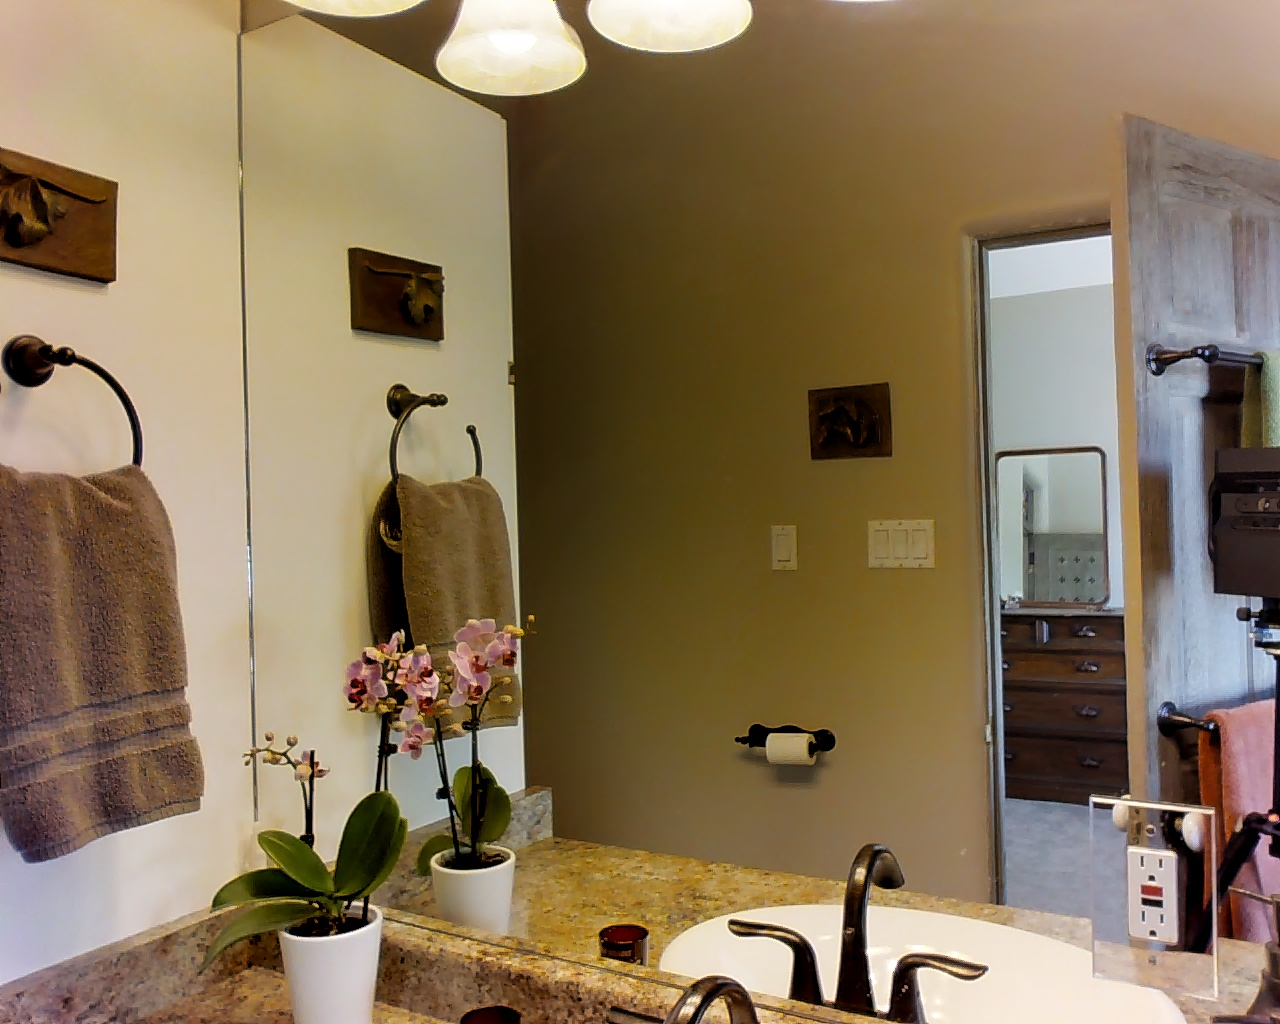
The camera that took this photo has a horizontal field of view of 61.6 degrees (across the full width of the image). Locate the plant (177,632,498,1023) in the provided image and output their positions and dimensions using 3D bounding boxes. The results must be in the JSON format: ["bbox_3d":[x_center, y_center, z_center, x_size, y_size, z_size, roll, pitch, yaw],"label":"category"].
[{"bbox_3d":[-0.310,0.340,1.120,0.210,0.400,0.230,-2,-1,33],"label":"plant"}]
